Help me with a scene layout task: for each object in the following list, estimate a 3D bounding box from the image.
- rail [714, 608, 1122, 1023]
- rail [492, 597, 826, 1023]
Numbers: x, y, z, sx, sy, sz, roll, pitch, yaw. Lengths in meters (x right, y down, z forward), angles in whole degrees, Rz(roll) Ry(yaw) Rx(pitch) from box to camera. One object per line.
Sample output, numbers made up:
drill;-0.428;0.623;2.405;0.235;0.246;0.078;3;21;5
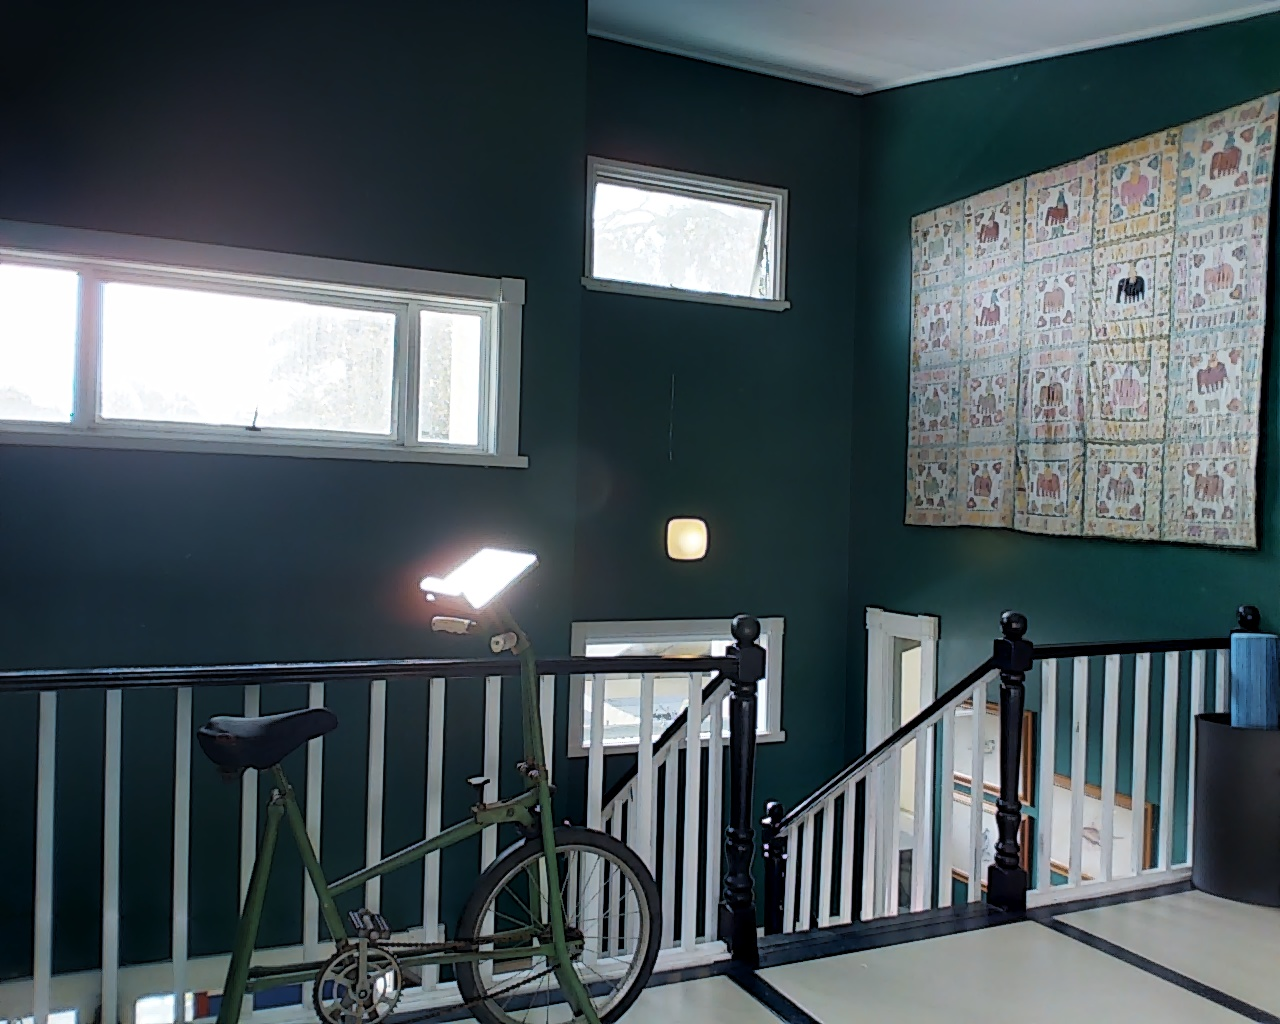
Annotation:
rail;0.960;1.460;4.260;0.260;0.990;2.160;1;35;-25
rail;-0.040;1.410;3.830;0.260;1.090;2.290;2;30;-25
